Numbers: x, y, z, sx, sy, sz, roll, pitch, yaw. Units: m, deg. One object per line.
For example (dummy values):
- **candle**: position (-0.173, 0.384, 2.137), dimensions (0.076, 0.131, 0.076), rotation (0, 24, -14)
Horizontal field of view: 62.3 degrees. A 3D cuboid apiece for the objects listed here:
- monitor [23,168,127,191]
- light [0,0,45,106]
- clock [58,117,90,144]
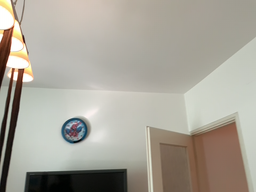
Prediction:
- **monitor**: position (-0.470, 1.010, 1.970), dimensions (0.950, 0.630, 0.050), rotation (4, -20, -16)
- **light**: position (-0.590, -0.360, 1.100), dimensions (0.180, 0.550, 0.970), rotation (-7, -17, -20)
- **clock**: position (-0.610, 0.390, 2.420), dimensions (0.330, 0.290, 0.070), rotation (2, -20, -11)
